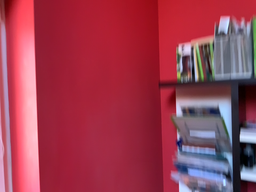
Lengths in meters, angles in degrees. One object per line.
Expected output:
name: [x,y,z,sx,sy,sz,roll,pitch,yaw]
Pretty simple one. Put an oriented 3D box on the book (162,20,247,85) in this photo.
book: [0.490,-0.240,1.360,0.430,0.320,0.300,-1,1,37]
